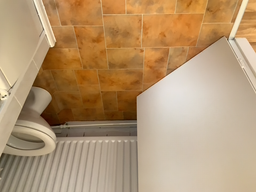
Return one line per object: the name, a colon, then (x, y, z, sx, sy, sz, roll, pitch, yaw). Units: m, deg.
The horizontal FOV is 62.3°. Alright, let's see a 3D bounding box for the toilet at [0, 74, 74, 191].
toilet: (-0.810, 0.310, 1.450, 0.630, 0.820, 0.470, -1, 138, 2)
